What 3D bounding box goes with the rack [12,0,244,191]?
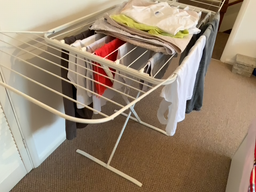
[{"bbox_3d":[0.100,-0.110,1.370,0.770,0.930,1.070,22,41,19],"label":"rack"}]
